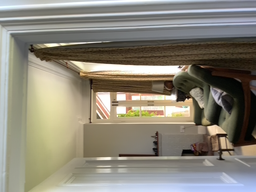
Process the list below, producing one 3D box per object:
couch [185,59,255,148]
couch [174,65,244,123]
[{"bbox_3d":[1.180,0.020,2.470,0.840,0.820,0.870,-76,-15,-79],"label":"couch"},{"bbox_3d":[1.230,0.010,3.430,0.800,0.810,0.820,70,-160,-81],"label":"couch"}]
